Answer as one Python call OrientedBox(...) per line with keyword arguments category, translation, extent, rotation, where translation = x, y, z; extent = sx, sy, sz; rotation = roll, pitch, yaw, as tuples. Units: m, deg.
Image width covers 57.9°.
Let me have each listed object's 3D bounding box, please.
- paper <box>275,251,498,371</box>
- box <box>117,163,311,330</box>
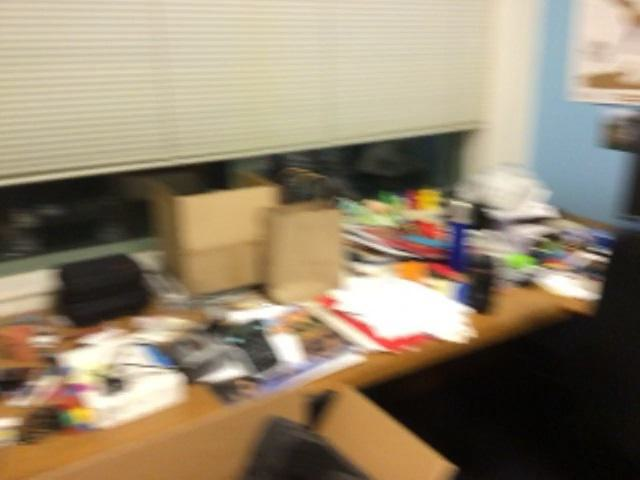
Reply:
OrientedBox(category="paper", translation=(0.160, 0.160, 1.520), extent=(0.390, 0.080, 0.440), rotation=(-14, 19, -29))
OrientedBox(category="box", translation=(-0.300, -0.010, 1.630), extent=(0.400, 0.320, 0.360), rotation=(-14, 19, -29))
